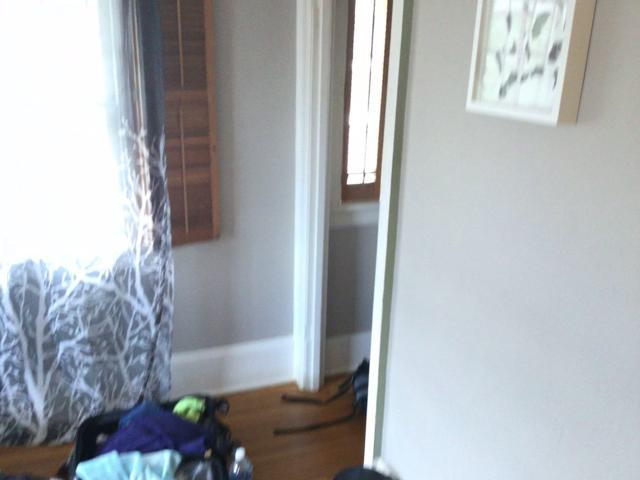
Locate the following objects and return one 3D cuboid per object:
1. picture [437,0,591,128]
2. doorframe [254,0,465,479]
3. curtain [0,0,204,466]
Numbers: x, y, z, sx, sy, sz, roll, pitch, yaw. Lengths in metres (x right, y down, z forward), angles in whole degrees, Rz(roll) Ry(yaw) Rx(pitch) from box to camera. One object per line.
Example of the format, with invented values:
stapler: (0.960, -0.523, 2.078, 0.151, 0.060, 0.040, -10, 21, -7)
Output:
picture: (0.390, -0.410, 1.220, 0.060, 0.310, 0.370, -5, 17, -23)
doorframe: (0.050, -0.190, 2.130, 0.290, 2.170, 1.010, -5, 17, -23)
curtain: (-1.210, -0.150, 2.080, 1.470, 2.040, 0.250, -5, 17, -23)
